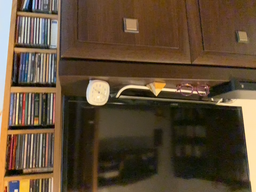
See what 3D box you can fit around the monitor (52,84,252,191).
[{"bbox_3d":[0.180,0.290,0.890,0.940,0.580,0.070,5,164,-29],"label":"monitor"}]
